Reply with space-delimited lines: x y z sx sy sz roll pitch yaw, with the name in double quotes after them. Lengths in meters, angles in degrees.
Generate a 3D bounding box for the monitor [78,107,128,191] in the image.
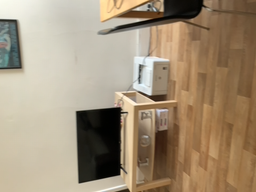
-0.240 0.540 2.160 0.030 0.480 0.820 -159 66 -67 "monitor"
